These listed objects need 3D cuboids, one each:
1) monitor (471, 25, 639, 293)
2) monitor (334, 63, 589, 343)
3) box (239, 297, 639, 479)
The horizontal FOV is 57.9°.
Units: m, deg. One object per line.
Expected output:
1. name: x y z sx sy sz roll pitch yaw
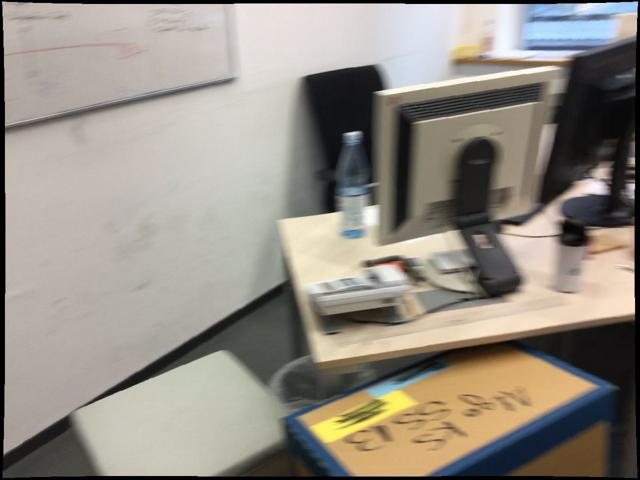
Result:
1. monitor: 0.769 -0.290 1.590 0.360 0.480 0.830 14 31 35
2. monitor: 0.340 -0.130 1.350 0.360 0.460 0.500 14 31 35
3. box: 0.260 0.501 1.130 0.669 0.440 0.510 -13 26 -18
